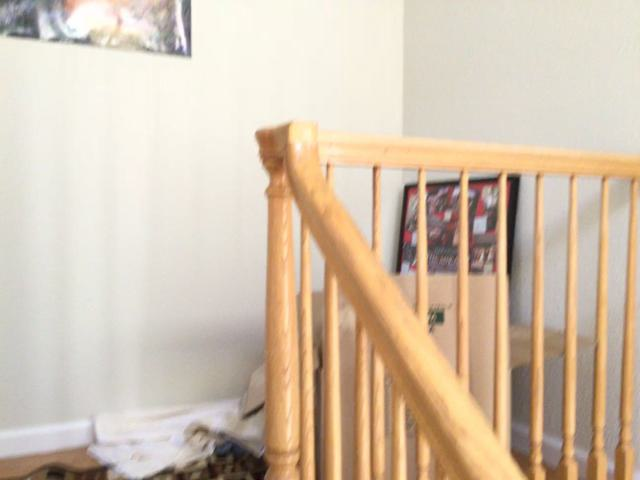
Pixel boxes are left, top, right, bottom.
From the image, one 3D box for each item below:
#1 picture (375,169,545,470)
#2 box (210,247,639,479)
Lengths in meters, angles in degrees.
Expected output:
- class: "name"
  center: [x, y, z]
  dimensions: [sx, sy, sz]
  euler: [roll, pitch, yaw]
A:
- class: "picture"
  center: [0.470, 0.220, 2.150]
  dimensions: [0.150, 0.950, 0.730]
  euler: [-1, 6, -25]
- class: "box"
  center: [0.240, 0.390, 1.620]
  dimensions: [0.970, 0.660, 0.710]
  euler: [0, 6, -20]
